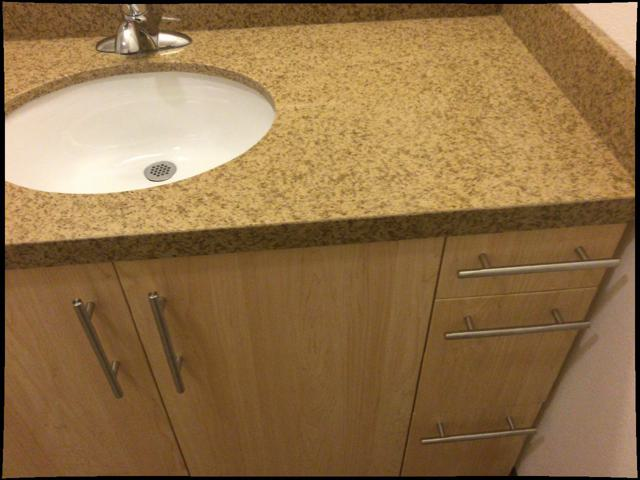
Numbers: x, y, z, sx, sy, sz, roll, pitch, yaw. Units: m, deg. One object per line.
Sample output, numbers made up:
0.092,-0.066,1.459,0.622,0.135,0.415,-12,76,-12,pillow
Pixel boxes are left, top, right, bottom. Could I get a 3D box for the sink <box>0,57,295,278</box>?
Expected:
-0.279,-0.130,0.950,0.449,0.180,0.300,-5,44,-2,sink
